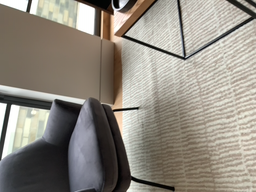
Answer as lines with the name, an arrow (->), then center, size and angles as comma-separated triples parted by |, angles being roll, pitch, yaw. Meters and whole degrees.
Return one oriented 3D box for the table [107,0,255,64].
table -> 0.220, -0.530, 1.030 | 0.480, 0.470, 0.480 | -31, 55, 52
